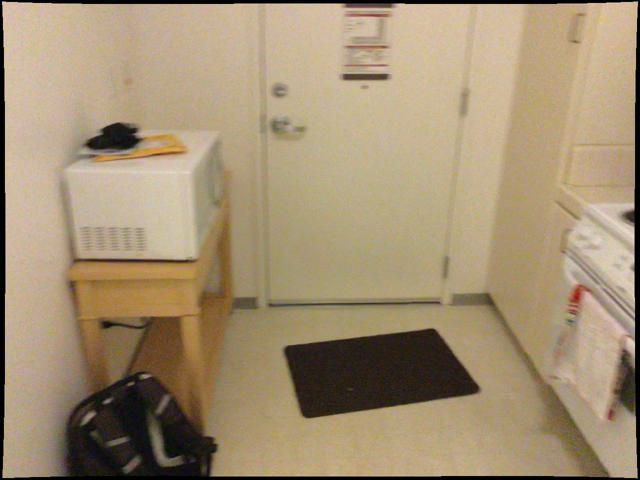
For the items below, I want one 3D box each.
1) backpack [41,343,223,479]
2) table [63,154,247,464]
[{"bbox_3d":[-0.529,0.621,1.770,0.390,0.430,0.430,0,24,-2],"label":"backpack"},{"bbox_3d":[-0.559,0.180,2.340,0.410,0.761,1.140,0,24,-2],"label":"table"}]
